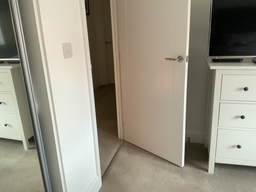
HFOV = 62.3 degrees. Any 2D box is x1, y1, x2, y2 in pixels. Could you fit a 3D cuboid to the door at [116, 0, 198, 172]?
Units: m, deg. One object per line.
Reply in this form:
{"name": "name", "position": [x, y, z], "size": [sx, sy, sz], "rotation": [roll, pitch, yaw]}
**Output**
{"name": "door", "position": [0.220, -0.340, 1.940], "size": [0.780, 2.030, 0.070], "rotation": [13, 23, 40]}
